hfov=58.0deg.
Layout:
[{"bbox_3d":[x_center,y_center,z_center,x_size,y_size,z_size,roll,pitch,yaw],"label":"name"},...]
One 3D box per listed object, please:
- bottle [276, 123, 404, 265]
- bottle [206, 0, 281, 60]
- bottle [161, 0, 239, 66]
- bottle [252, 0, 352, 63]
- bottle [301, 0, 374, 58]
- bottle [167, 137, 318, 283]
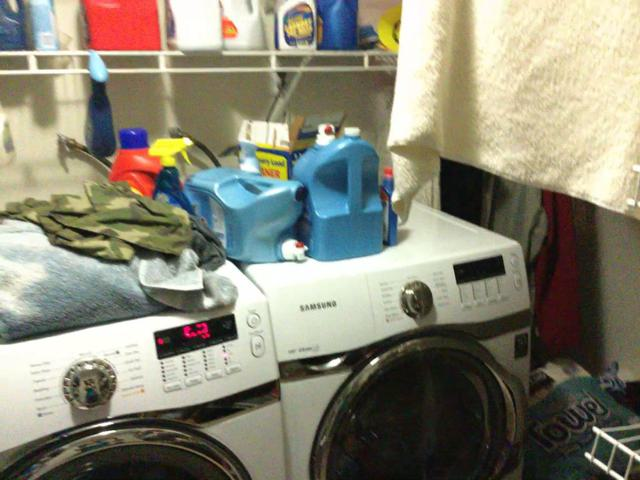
[{"bbox_3d":[0.040,-0.120,1.350,0.220,0.280,0.200,-8,19,-26],"label":"bottle"},{"bbox_3d":[-0.220,-0.660,1.640,0.160,0.280,0.180,-8,19,-26],"label":"bottle"},{"bbox_3d":[-0.320,-0.630,1.520,0.160,0.330,0.160,-8,19,-26],"label":"bottle"},{"bbox_3d":[-0.060,-0.730,1.730,0.200,0.380,0.280,-8,19,-26],"label":"bottle"},{"bbox_3d":[0.050,-0.690,1.730,0.150,0.270,0.180,-8,19,-26],"label":"bottle"},{"bbox_3d":[-0.190,-0.090,1.350,0.240,0.250,0.340,-8,19,-26],"label":"bottle"}]
